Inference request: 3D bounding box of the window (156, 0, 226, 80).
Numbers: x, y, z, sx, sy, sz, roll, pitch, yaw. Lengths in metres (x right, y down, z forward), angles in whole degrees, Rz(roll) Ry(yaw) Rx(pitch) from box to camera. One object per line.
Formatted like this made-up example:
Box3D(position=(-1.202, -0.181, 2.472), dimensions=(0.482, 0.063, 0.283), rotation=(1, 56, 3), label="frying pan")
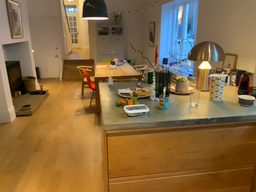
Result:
Box3D(position=(1.210, -1.380, 4.730), dimensions=(0.540, 1.560, 2.260), rotation=(-3, 18, -7), label="window")
